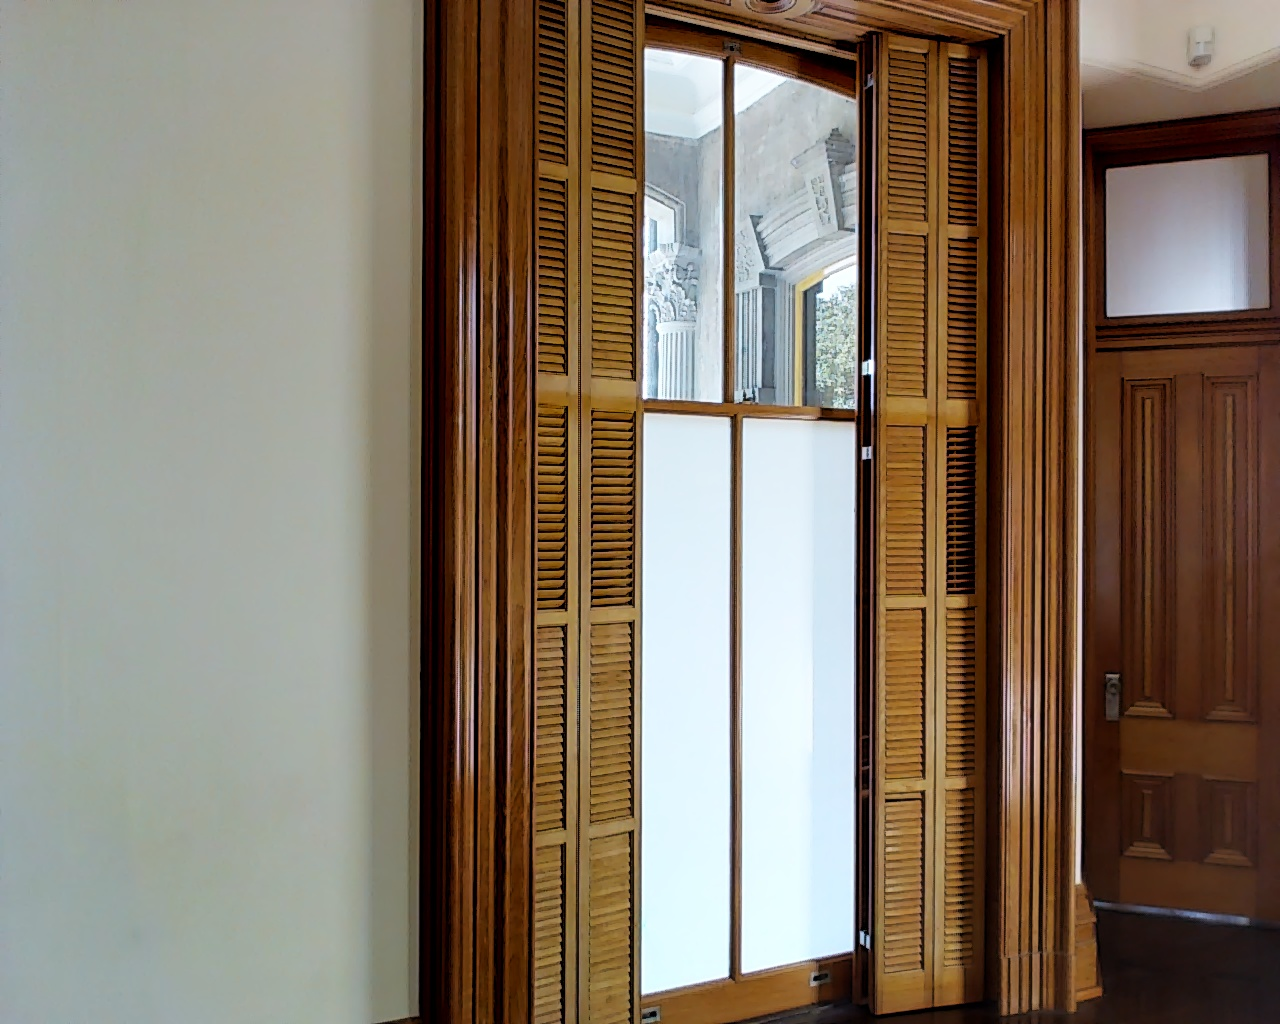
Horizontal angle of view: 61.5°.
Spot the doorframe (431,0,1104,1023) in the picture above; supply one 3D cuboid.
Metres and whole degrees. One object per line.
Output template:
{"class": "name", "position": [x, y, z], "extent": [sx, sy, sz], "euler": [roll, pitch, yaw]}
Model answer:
{"class": "doorframe", "position": [0.480, -0.140, 3.150], "extent": [2.150, 3.370, 0.250], "euler": [0, 1, -26]}
